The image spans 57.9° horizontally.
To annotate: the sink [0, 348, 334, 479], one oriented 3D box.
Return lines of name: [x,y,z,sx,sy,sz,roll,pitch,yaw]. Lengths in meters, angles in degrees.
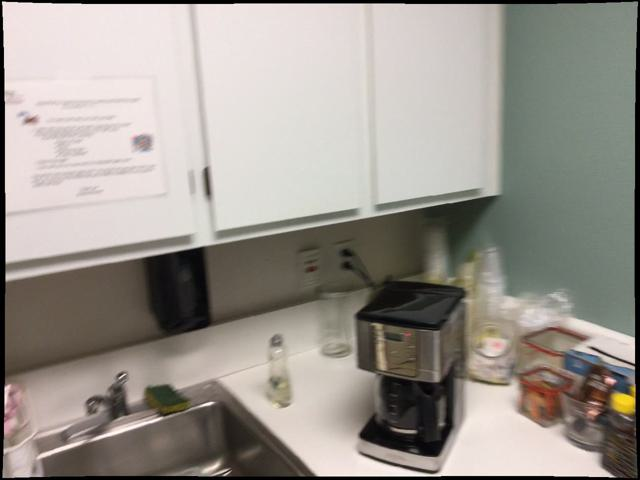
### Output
sink: [-0.350,0.531,1.230,0.510,0.270,0.600,-11,19,-32]

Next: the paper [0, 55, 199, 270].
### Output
paper: [-0.420,-0.150,1.050,0.380,0.350,0.040,-11,19,-32]

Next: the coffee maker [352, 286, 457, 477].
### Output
coffee maker: [0.170,0.280,1.180,0.160,0.320,0.140,9,19,31]
